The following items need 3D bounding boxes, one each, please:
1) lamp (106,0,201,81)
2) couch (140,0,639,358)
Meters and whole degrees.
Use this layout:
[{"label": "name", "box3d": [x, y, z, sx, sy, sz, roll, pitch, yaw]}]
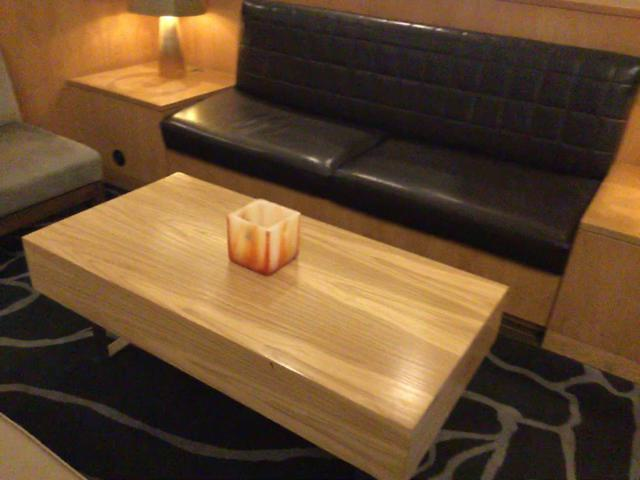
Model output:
[{"label": "lamp", "box3d": [-0.810, -1.090, 2.830, 0.340, 0.520, 0.290, 19, 30, 26]}, {"label": "couch", "box3d": [0.190, -0.420, 2.410, 1.870, 0.970, 0.650, 19, 30, 26]}]
